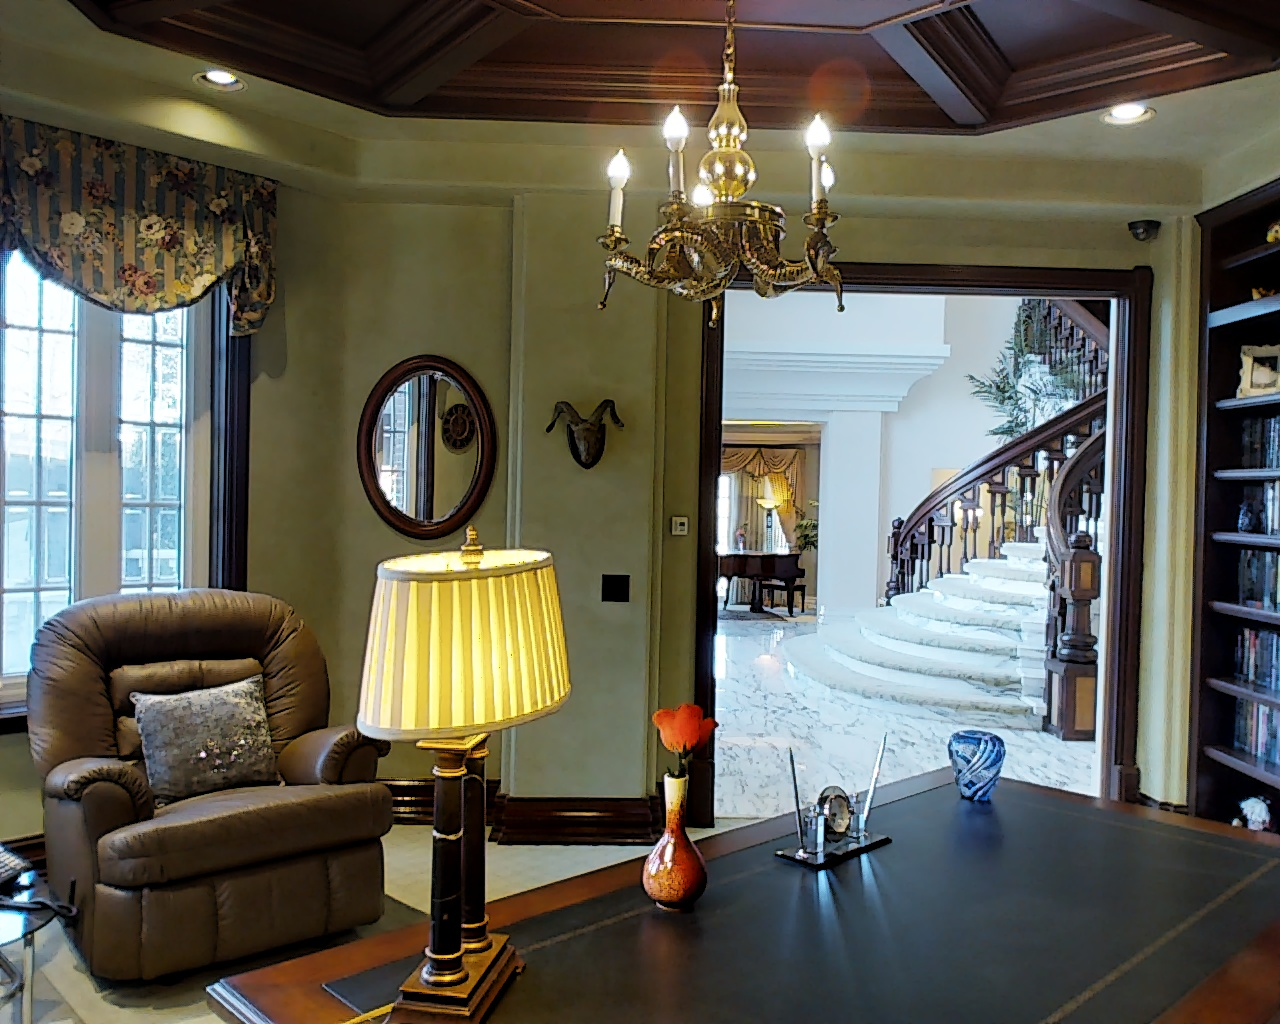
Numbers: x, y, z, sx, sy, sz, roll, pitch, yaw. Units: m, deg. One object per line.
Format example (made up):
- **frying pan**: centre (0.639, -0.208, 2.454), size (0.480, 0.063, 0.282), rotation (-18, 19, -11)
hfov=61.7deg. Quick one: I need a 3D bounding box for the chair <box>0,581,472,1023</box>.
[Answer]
- **chair**: centre (-1.340, 0.820, 3.540), size (1.130, 1.070, 1.050), rotation (2, 0, 44)
